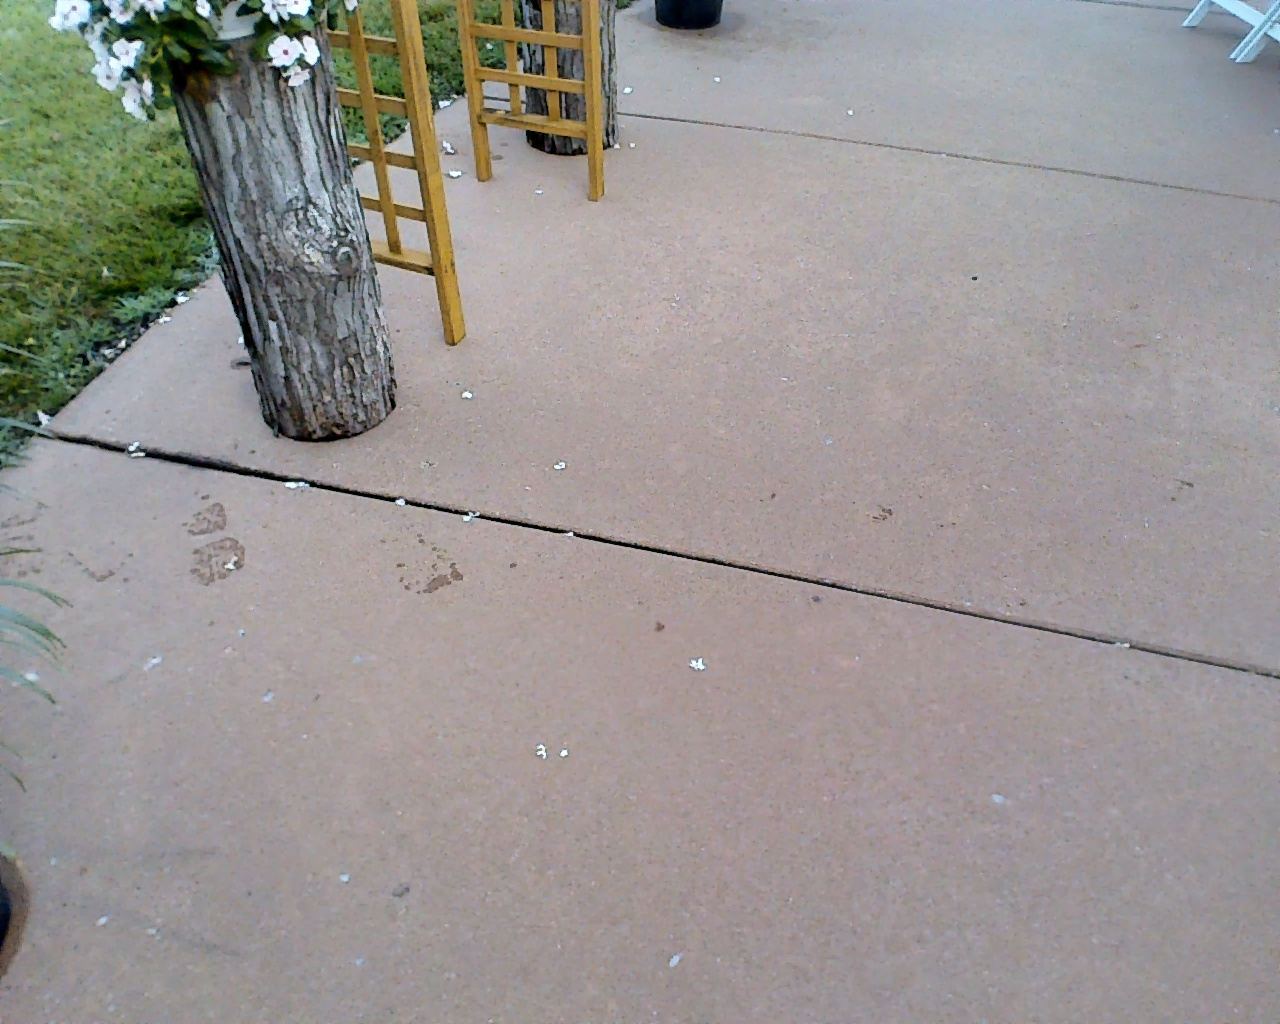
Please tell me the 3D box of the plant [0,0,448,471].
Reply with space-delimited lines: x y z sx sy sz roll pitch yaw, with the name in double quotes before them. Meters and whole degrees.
"plant" -0.840 -0.800 2.250 0.560 1.240 0.610 11 43 10
